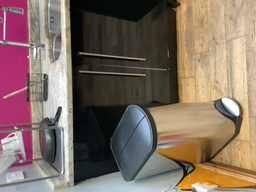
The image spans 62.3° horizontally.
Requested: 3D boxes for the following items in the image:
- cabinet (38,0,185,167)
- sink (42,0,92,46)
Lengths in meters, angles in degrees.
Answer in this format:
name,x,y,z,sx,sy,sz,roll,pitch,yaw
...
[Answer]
name,x,y,z,sx,sy,sz,roll,pitch,yaw
cabinet,-0.150,-0.240,1.630,0.670,0.880,1.230,-5,86,57
sink,-0.420,-0.610,1.380,0.490,0.170,0.430,-5,86,57
